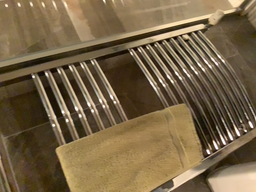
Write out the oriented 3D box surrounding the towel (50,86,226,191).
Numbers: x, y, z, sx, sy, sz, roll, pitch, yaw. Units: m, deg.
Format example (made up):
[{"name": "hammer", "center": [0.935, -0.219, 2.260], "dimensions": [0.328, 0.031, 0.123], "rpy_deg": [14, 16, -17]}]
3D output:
[{"name": "towel", "center": [0.040, 0.190, 0.720], "dimensions": [0.280, 0.500, 0.140], "rpy_deg": [63, 155, 16]}]
